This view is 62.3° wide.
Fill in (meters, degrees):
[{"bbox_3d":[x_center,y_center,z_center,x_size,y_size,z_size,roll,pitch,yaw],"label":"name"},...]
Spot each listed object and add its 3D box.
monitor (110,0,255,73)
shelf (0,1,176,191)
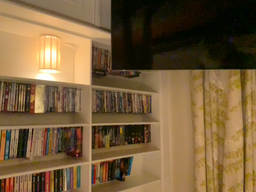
[{"bbox_3d":[0.410,-0.500,1.490,1.060,0.640,0.050,-2,173,2],"label":"monitor"},{"bbox_3d":[-0.330,0.520,1.640,1.650,1.930,0.480,5,173,-41],"label":"shelf"}]
